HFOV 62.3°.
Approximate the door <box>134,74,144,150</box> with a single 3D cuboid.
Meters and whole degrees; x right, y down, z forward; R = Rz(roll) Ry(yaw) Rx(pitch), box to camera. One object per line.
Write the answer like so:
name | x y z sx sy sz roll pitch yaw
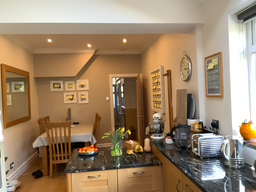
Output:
door | 0.290 0.390 5.620 0.150 1.880 0.830 -2 1 1
